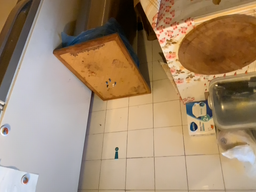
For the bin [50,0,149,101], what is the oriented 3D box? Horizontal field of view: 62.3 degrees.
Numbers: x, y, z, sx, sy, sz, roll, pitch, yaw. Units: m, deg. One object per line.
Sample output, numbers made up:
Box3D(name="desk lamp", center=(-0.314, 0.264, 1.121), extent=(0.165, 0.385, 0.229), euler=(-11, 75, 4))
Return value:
Box3D(name="bin", center=(-0.100, -0.410, 1.270), extent=(0.320, 0.710, 0.480), euler=(-9, 150, 21))
